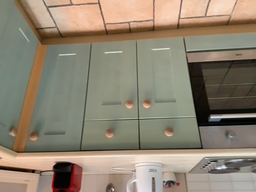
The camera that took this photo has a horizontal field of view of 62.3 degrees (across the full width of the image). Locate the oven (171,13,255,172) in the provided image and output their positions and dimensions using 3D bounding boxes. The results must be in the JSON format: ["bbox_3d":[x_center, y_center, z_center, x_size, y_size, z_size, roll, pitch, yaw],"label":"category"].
[{"bbox_3d":[0.670,0.000,1.440,0.610,0.890,0.600,-2,152,4],"label":"oven"}]

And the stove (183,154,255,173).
[{"bbox_3d":[0.670,0.400,1.230,0.610,0.010,0.530,-2,152,4],"label":"stove"}]
